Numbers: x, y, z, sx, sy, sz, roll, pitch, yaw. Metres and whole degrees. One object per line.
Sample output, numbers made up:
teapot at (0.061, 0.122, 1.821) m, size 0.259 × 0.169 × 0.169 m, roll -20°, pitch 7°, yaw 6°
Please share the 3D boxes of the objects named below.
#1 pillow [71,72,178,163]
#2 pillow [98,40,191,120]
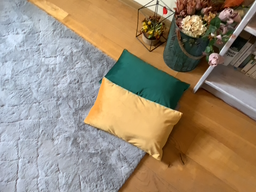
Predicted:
pillow at (-0.020, 0.120, 1.190) m, size 0.500 × 0.180 × 0.250 m, roll 29°, pitch 70°, yaw 10°
pillow at (0.090, -0.100, 1.290) m, size 0.480 × 0.150 × 0.240 m, roll 31°, pitch 70°, yaw 11°
